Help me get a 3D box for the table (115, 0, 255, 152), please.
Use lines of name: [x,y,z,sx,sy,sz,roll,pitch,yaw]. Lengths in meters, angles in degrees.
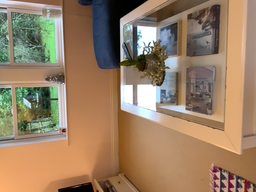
table: [0.380,-0.270,1.430,1.230,0.500,0.850,-170,78,-64]
